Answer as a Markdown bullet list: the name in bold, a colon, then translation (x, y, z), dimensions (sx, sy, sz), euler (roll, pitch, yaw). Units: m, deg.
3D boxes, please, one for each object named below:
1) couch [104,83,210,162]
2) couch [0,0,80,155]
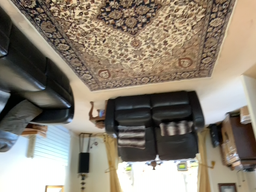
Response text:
- **couch**: translation (0.450, 0.530, 3.640), dimensions (1.480, 0.980, 1.010), euler (-7, 156, 8)
- **couch**: translation (-1.360, -0.110, 2.020), dimensions (0.990, 0.950, 2.110), euler (-5, 156, 9)
